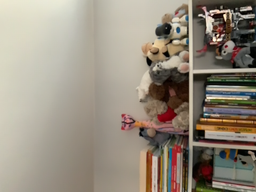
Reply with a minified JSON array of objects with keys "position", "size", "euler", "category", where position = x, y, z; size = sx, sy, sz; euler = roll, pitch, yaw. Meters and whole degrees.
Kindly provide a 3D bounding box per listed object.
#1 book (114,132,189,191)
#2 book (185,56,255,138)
[{"position":[0.130,0.380,1.120],"size":[0.190,0.360,0.310],"euler":[-16,-74,-71],"category":"book"},{"position":[0.430,-0.010,1.000],"size":[0.230,0.290,0.330],"euler":[-23,-67,-70],"category":"book"}]
